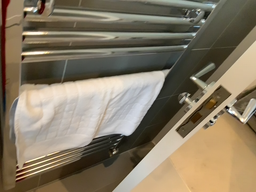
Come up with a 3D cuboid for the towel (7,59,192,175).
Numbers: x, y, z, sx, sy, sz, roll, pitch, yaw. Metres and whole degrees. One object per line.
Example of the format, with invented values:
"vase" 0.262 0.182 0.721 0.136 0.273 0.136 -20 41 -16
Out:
"towel" -0.080 0.050 0.680 0.520 0.320 0.100 -11 57 -35
